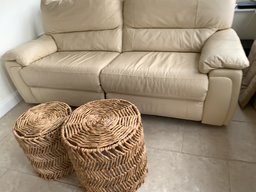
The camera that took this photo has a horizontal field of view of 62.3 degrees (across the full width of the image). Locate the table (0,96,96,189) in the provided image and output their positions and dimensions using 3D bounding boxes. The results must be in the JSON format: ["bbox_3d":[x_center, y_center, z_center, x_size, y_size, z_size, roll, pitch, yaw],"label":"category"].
[{"bbox_3d":[-0.520,0.300,1.470,0.380,0.410,0.390,7,37,22],"label":"table"}]

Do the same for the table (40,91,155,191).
[{"bbox_3d":[-0.130,0.310,1.320,0.460,0.460,0.470,7,37,22],"label":"table"}]

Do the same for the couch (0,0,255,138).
[{"bbox_3d":[-0.100,-0.440,1.970,2.050,0.950,0.920,6,37,20],"label":"couch"}]
